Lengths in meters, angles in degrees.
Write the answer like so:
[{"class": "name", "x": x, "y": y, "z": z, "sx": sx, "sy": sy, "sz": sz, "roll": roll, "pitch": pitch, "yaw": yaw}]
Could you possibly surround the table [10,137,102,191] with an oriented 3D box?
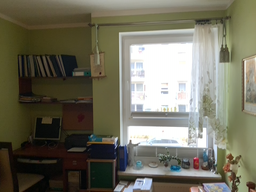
[{"class": "table", "x": -1.000, "y": 1.060, "z": 3.080, "sx": 1.120, "sy": 0.760, "sz": 0.560, "roll": 0, "pitch": 3, "yaw": 7}]
